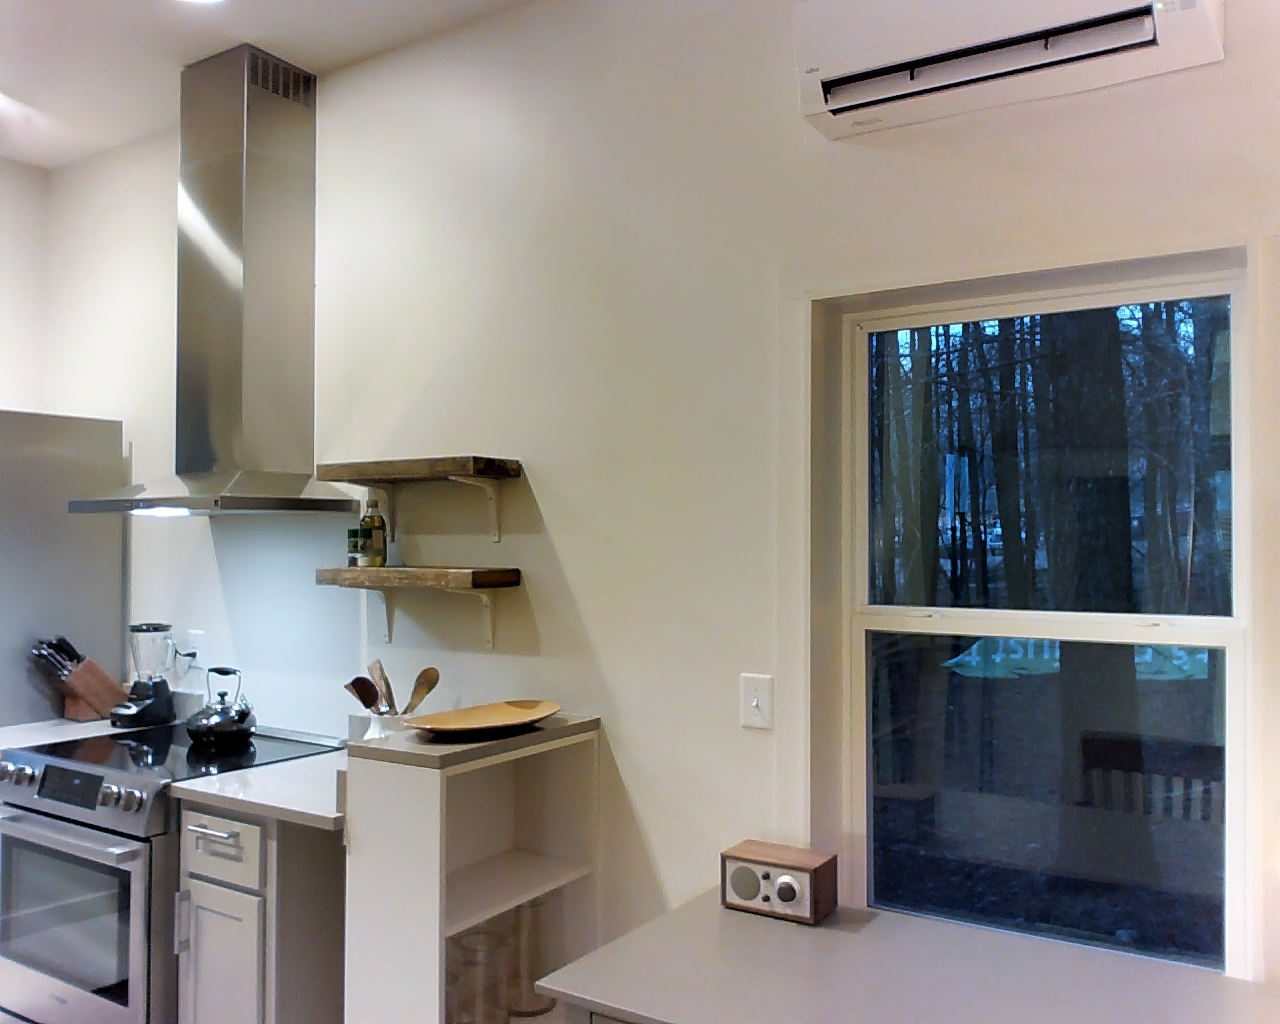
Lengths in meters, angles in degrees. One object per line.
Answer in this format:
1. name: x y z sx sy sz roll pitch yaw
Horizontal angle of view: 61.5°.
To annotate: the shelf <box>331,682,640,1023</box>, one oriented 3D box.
1. shelf: -0.360 1.030 2.660 0.430 1.110 0.650 -1 -1 34
